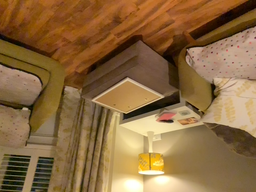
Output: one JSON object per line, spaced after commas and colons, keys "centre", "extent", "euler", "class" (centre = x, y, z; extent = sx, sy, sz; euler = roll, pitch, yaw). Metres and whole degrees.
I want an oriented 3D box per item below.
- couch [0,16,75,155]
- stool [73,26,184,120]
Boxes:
{"centre": [-1.300, -0.080, 1.910], "extent": [1.200, 0.860, 0.970], "euler": [20, 147, -29], "class": "couch"}
{"centre": [-0.010, -0.150, 2.120], "extent": [0.620, 0.410, 0.880], "euler": [27, 143, -37], "class": "stool"}
